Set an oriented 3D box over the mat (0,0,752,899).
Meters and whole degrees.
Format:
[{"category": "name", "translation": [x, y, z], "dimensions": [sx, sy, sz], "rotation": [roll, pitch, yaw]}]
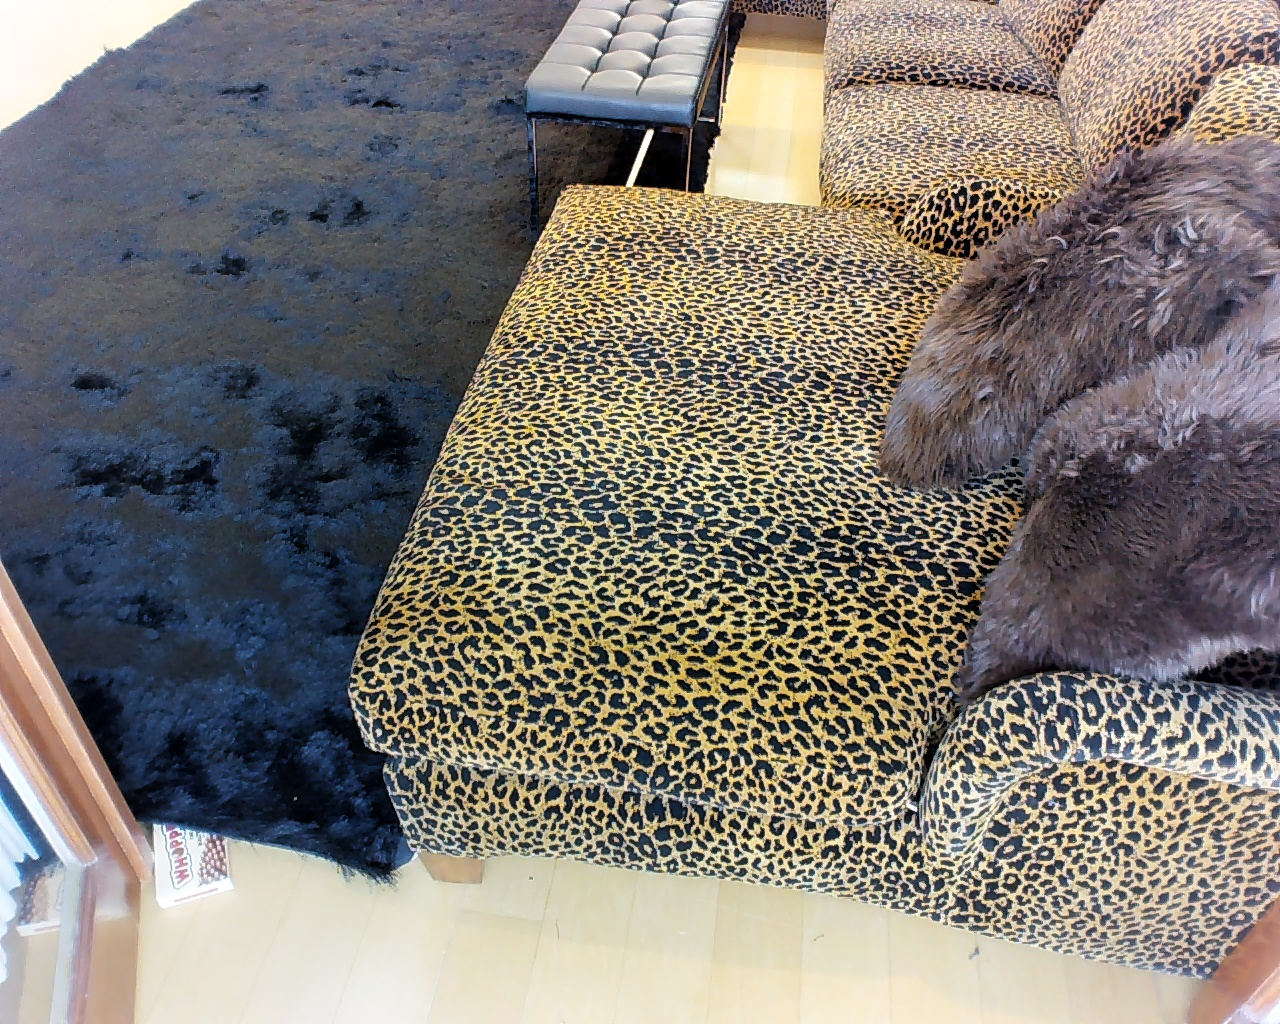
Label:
[{"category": "mat", "translation": [-0.910, -1.590, 4.010], "dimensions": [2.469, 0.080, 6.131], "rotation": [6, 42, 5]}]
